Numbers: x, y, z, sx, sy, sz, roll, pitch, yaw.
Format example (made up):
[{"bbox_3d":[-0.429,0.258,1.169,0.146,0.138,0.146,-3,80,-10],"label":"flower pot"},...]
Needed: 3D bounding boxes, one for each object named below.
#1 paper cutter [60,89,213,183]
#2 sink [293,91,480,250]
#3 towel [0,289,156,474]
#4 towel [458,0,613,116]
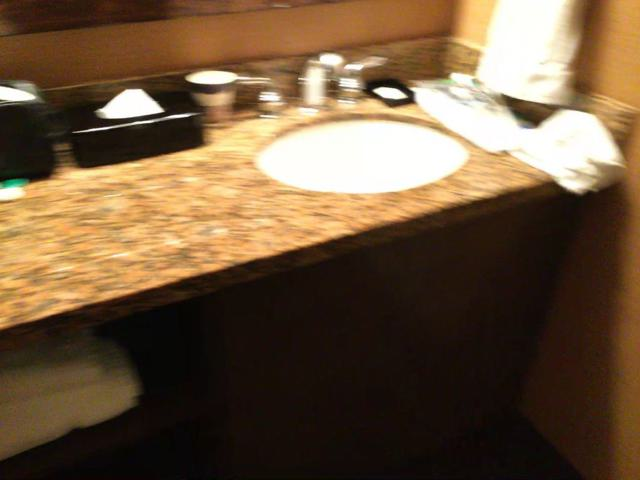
[{"bbox_3d":[-0.340,-0.200,1.080,0.240,0.080,0.130,-17,41,-21],"label":"paper cutter"},{"bbox_3d":[0.130,-0.160,1.230,0.290,0.180,0.250,-17,41,-21],"label":"sink"},{"bbox_3d":[-0.450,0.230,0.950,0.290,0.120,0.200,-17,41,-21],"label":"towel"},{"bbox_3d":[0.410,-0.390,1.140,0.130,0.190,0.230,-17,41,-21],"label":"towel"}]
